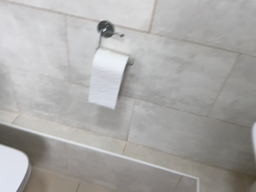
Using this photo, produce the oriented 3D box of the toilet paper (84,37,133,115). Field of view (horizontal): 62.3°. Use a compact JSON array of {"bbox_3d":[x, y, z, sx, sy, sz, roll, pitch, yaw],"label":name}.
[{"bbox_3d":[-0.080,-0.070,0.810,0.140,0.250,0.110,15,41,5],"label":"toilet paper"}]
